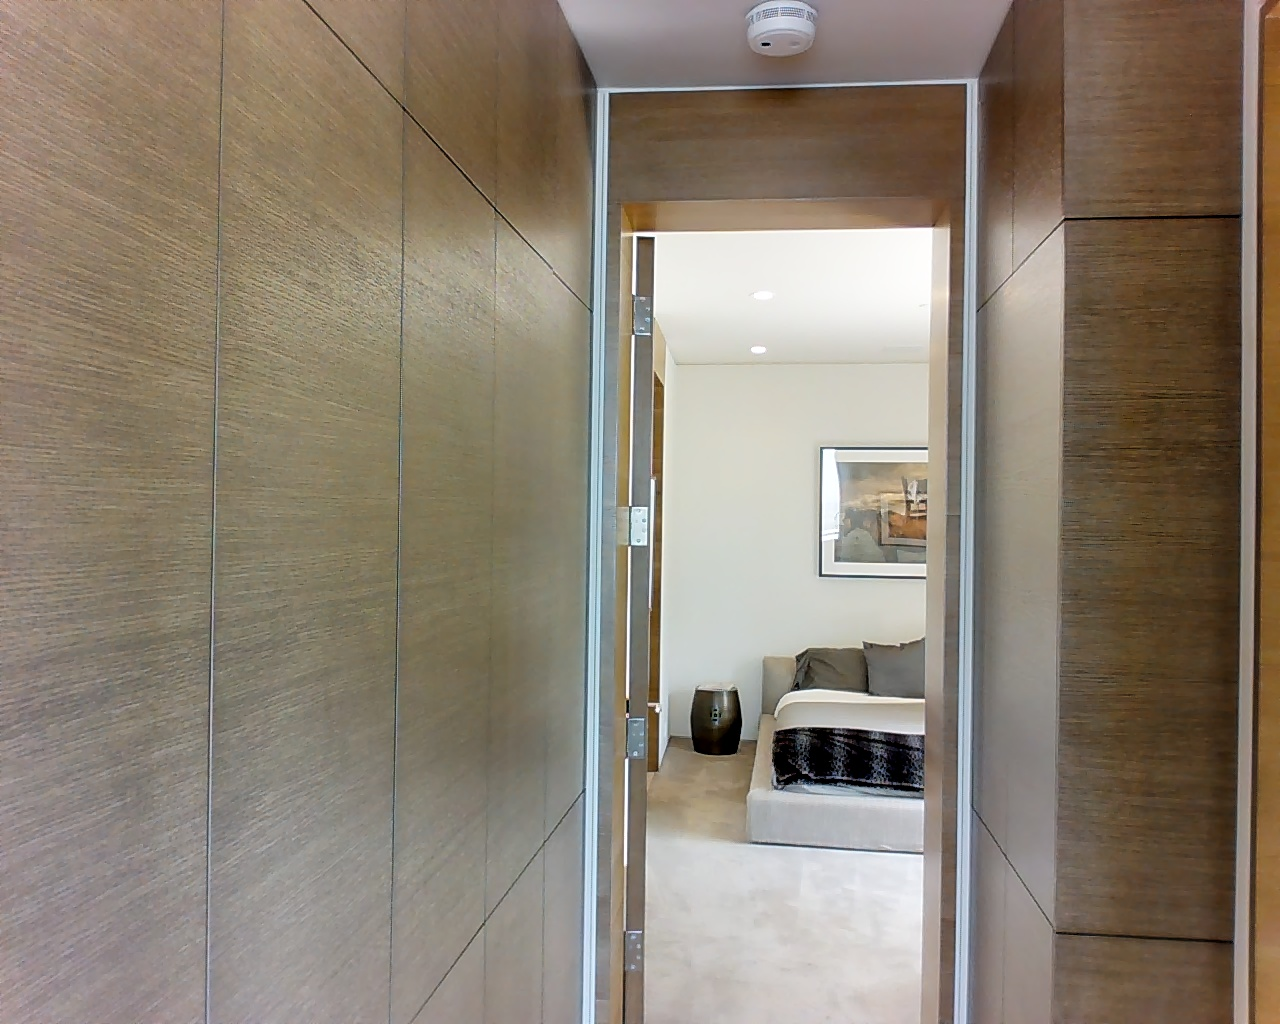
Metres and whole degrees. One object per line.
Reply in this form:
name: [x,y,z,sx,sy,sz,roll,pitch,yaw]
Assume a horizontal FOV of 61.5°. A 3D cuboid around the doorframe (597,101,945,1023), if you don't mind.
doorframe: [0.350,0.290,2.960,0.850,2.680,0.380,1,0,6]
